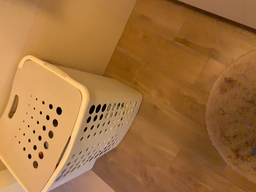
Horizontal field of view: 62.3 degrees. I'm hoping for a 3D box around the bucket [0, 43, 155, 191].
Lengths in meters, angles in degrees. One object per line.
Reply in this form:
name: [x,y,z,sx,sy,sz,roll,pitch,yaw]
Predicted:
bucket: [-0.230,0.110,0.980,0.350,0.560,0.480,37,106,21]
